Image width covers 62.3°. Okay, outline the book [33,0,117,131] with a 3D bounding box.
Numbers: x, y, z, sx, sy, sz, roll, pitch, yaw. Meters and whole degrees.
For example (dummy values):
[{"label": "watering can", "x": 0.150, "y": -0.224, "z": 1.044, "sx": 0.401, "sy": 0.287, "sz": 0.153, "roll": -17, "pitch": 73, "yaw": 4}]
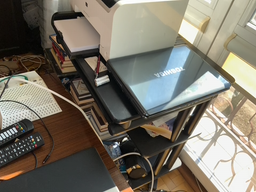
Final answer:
[{"label": "book", "x": -0.360, "y": -0.200, "z": 1.370, "sx": 0.320, "sy": 0.770, "sz": 0.370, "roll": -16, "pitch": 50, "yaw": -30}]
